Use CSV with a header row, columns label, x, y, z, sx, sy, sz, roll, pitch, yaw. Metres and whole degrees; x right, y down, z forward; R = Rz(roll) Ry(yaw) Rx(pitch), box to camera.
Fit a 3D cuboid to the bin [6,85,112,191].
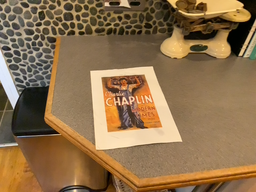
label,x,y,z,sx,sy,sz,roll,pitch,yaw
bin,-0.310,0.280,1.150,0.400,0.630,0.280,-4,46,-10
